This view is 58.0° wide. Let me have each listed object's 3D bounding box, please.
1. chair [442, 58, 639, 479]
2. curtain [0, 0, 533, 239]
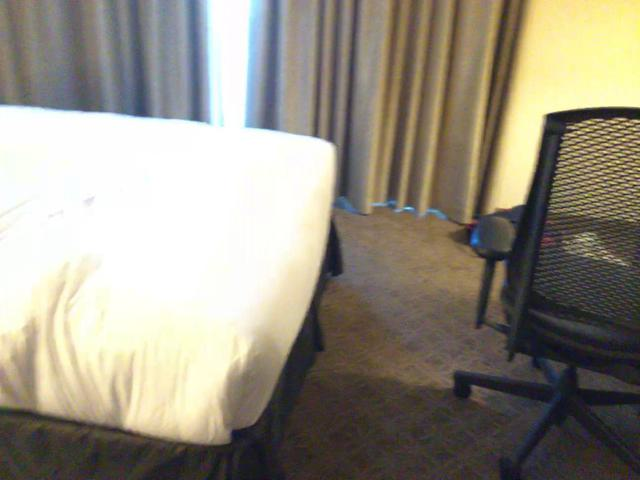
[{"bbox_3d":[0.760,0.110,1.630,0.660,1.070,0.650,8,26,11],"label":"chair"},{"bbox_3d":[-0.480,-0.930,3.050,2.880,1.560,0.490,5,26,5],"label":"curtain"}]
